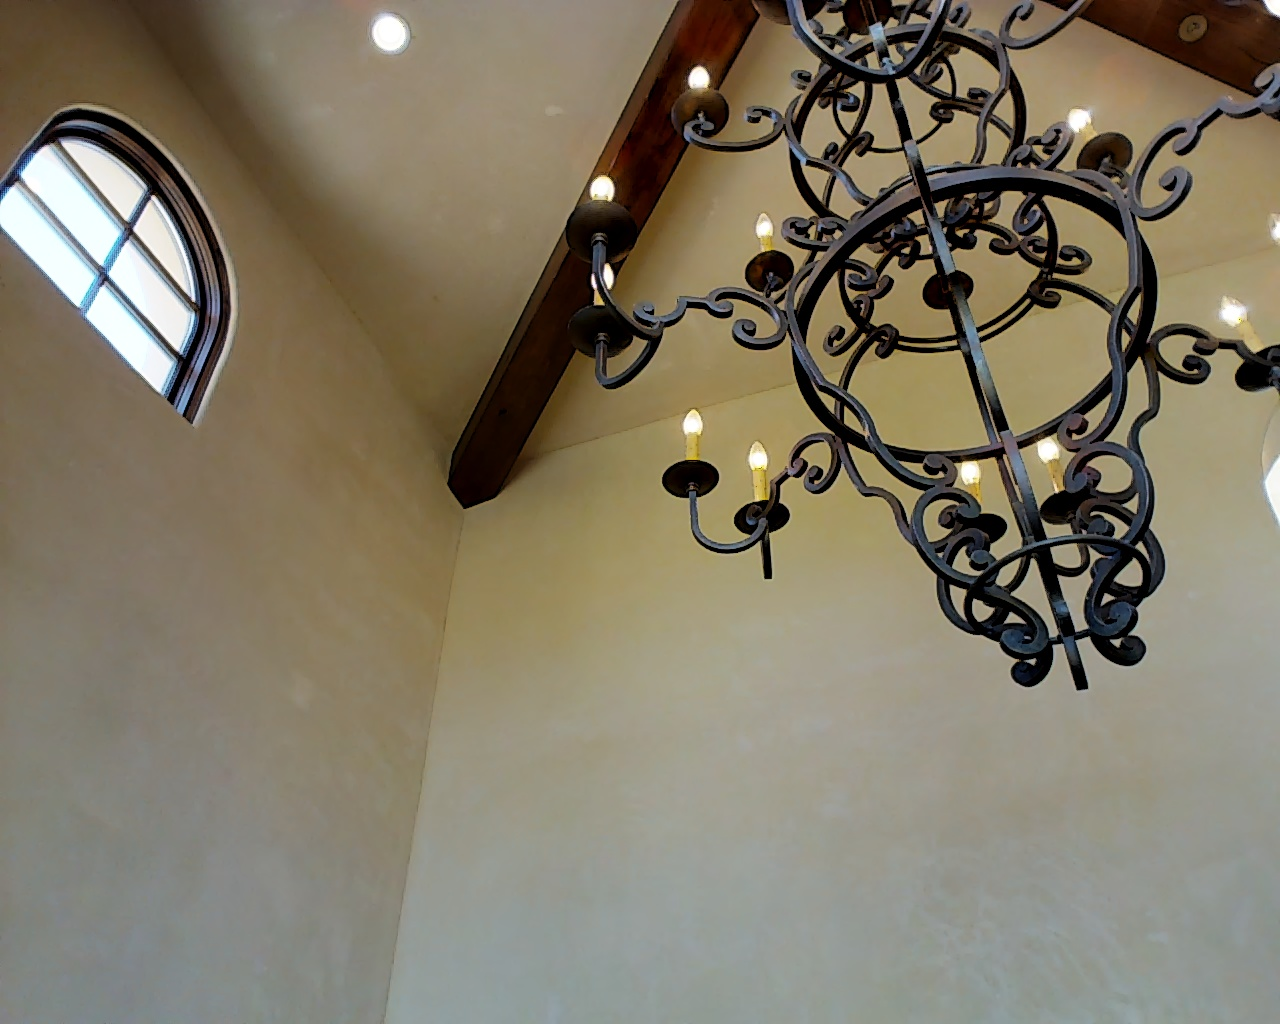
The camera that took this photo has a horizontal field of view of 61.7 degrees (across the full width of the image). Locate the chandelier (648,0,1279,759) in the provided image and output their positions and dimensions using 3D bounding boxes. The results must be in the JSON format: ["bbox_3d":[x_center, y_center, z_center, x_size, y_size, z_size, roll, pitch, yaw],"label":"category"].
[{"bbox_3d":[0.450,-0.130,1.520,0.570,0.790,0.730,-14,-22,16],"label":"chandelier"}]
